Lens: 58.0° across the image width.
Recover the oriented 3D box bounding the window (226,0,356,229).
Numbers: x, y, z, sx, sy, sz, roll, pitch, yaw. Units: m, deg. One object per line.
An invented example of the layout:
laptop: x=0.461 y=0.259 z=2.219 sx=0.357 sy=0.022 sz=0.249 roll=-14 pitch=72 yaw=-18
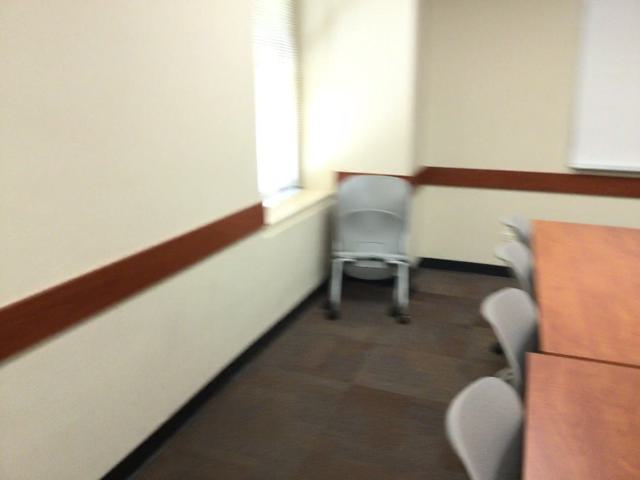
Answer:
window: x=-0.100 y=-1.140 z=3.320 sx=0.240 sy=1.890 sz=1.330 roll=4 pitch=16 yaw=20

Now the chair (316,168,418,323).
chair: x=0.320 y=0.000 z=3.650 sx=0.560 sy=0.810 sz=0.670 roll=2 pitch=15 yaw=10
